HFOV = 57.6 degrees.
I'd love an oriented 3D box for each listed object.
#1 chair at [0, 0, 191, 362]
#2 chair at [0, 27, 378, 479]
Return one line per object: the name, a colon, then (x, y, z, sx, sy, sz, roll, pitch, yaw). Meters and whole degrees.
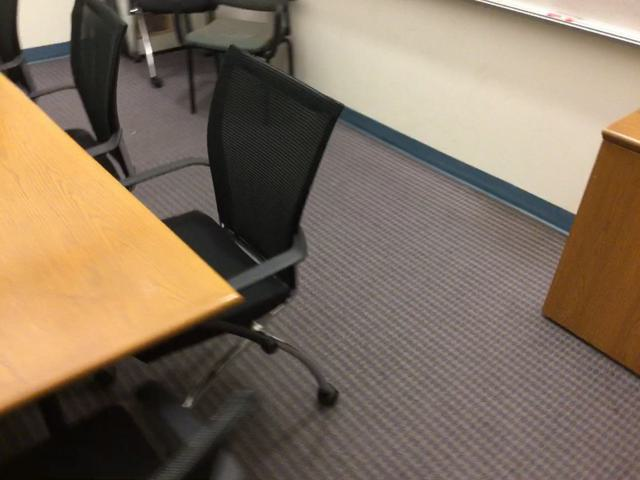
chair: (-0.870, -0.260, 1.850, 0.590, 0.930, 0.650, -25, 46, -33)
chair: (-0.320, 0.050, 1.470, 0.560, 0.910, 0.600, -25, 46, -33)
